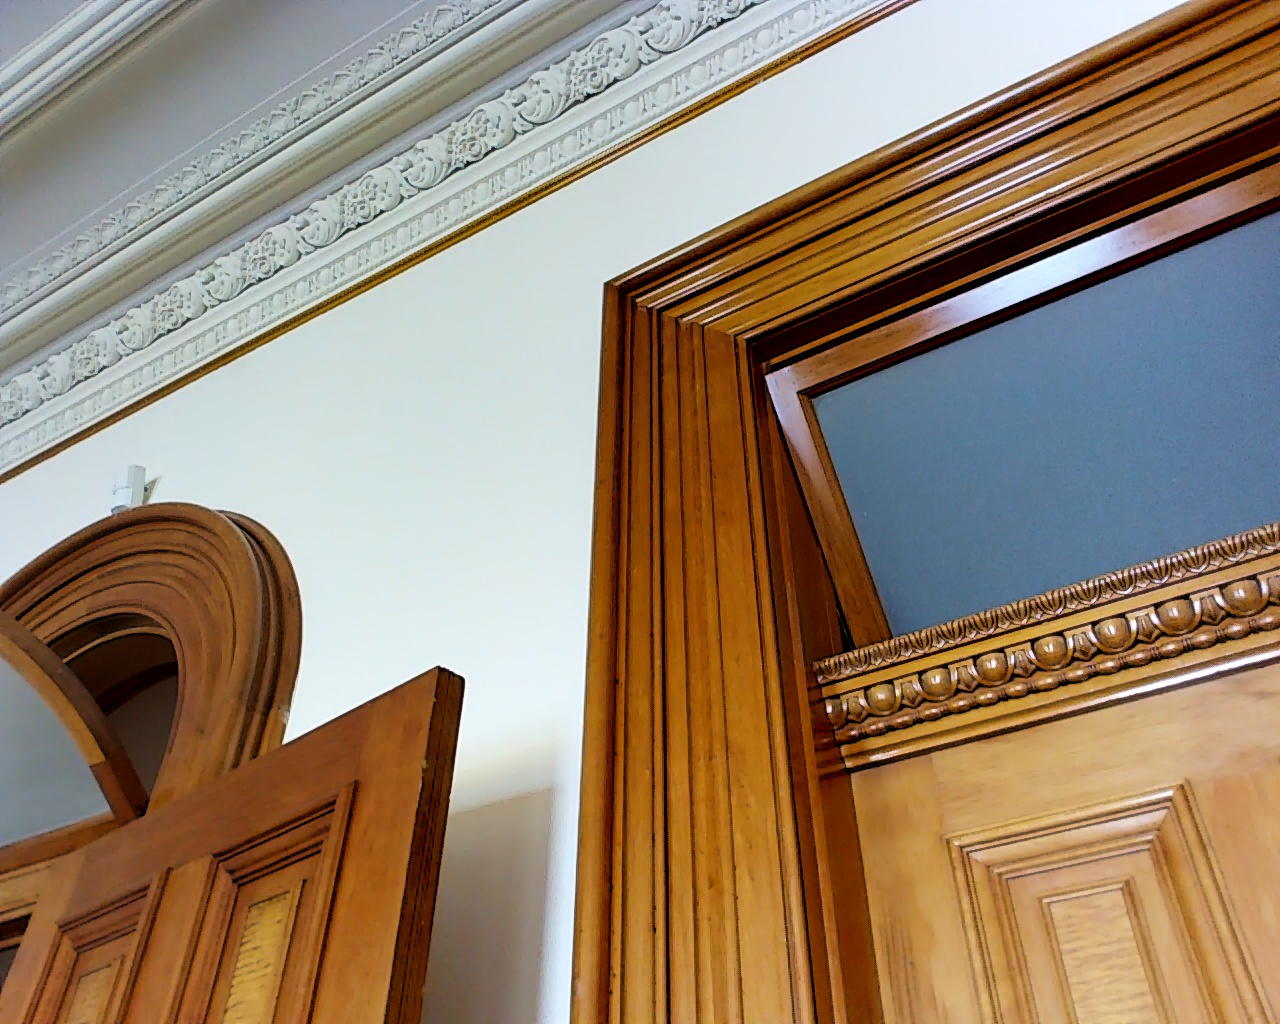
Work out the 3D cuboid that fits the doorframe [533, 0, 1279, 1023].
[{"bbox_3d":[0.610,0.540,0.800,1.510,3.271,0.310,-22,-48,23],"label":"doorframe"}]
